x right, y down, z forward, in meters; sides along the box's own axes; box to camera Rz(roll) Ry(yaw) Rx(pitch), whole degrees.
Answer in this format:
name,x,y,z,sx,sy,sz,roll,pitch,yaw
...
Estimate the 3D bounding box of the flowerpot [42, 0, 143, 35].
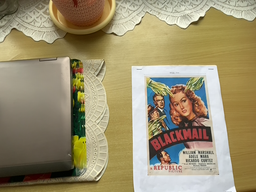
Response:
name,x,y,z,sx,sy,sz,roll,pitch,yaw
flowerpot,-0.080,-0.290,0.540,0.220,0.160,0.200,-1,71,-2
